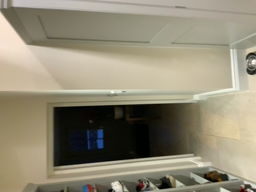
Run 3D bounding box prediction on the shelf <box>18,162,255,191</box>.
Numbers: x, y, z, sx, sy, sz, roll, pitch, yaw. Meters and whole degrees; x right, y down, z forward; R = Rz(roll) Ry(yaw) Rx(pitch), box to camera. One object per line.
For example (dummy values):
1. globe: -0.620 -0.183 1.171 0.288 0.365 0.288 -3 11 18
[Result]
1. shelf: 0.130 1.020 1.940 1.230 2.210 0.380 155 113 -75
